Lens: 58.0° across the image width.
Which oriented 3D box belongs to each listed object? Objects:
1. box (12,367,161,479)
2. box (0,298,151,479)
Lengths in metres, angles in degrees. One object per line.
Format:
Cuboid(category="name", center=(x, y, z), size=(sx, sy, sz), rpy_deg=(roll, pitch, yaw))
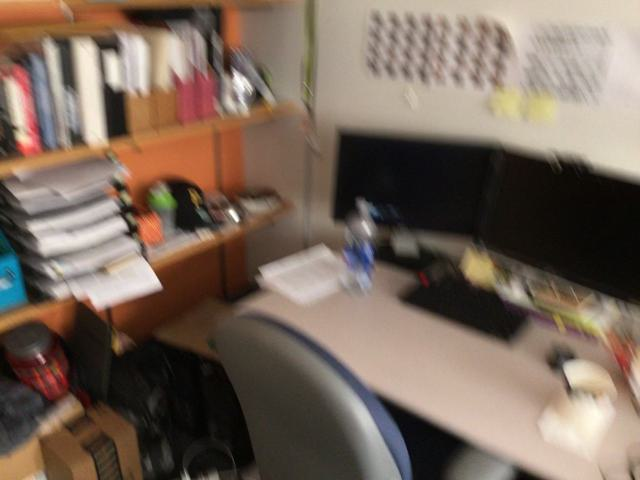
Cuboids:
Cuboid(category="box", center=(-0.700, 0.680, 1.780), size=(0.290, 0.410, 0.270), rpy_deg=(17, 29, 36))
Cuboid(category="box", center=(-0.930, 0.610, 1.690), size=(0.340, 0.580, 0.710), rpy_deg=(17, 29, 36))
